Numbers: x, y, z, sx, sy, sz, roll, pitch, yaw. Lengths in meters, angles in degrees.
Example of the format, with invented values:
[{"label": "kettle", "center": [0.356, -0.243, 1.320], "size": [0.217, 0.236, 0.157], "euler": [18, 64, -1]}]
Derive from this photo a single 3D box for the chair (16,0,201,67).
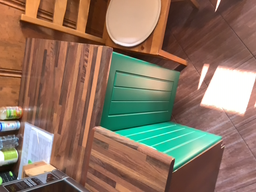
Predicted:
[{"label": "chair", "center": [-0.020, -0.450, 1.170], "size": [0.500, 0.890, 0.400], "euler": [15, 97, 34]}]
